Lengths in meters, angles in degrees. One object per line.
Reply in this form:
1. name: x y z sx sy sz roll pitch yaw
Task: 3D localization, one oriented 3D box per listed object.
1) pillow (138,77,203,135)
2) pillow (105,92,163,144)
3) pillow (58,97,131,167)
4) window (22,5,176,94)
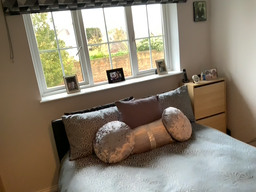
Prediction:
1. pillow: 0.450 0.090 2.260 0.550 0.340 0.260 -30 19 -15
2. pillow: 0.060 0.190 1.920 0.460 0.310 0.130 -18 16 -17
3. pillow: -0.310 0.330 2.000 0.530 0.420 0.180 -27 19 -13
4. window: -0.240 -0.590 2.580 1.740 0.830 0.110 -11 15 -16
